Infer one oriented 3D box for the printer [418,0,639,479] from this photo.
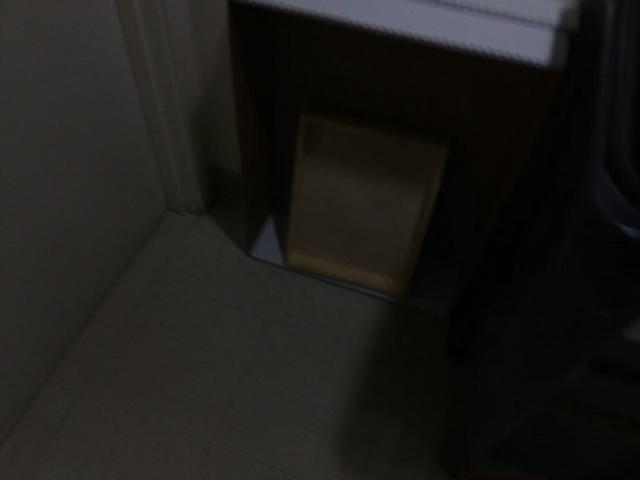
[{"bbox_3d":[0.490,0.100,0.870,0.480,0.940,0.590,15,52,11],"label":"printer"}]
